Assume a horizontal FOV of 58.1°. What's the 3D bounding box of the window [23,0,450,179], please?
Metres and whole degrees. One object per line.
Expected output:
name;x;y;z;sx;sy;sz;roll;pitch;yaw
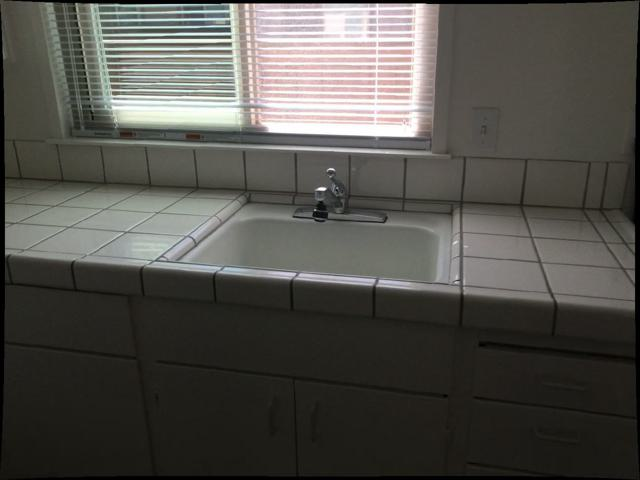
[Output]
window;-0.230;-0.831;1.550;1.168;1.192;0.270;7;23;12

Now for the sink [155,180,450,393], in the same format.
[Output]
sink;0.000;0.070;1.450;0.599;0.240;0.540;7;23;12
